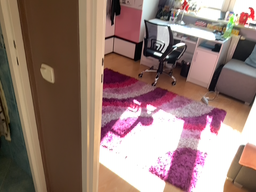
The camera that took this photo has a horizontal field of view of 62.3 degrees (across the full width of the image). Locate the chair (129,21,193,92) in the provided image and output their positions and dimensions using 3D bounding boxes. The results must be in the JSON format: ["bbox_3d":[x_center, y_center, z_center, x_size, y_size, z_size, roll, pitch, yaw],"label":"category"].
[{"bbox_3d":[0.490,-0.630,3.230,0.560,0.790,0.700,25,36,27],"label":"chair"}]
